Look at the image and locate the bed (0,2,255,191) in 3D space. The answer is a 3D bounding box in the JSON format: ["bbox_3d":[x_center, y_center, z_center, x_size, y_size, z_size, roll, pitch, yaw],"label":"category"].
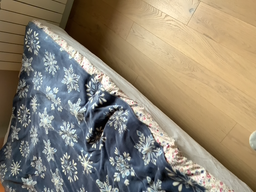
[{"bbox_3d":[-0.260,0.570,1.450,2.120,0.480,1.520,43,118,30],"label":"bed"}]
